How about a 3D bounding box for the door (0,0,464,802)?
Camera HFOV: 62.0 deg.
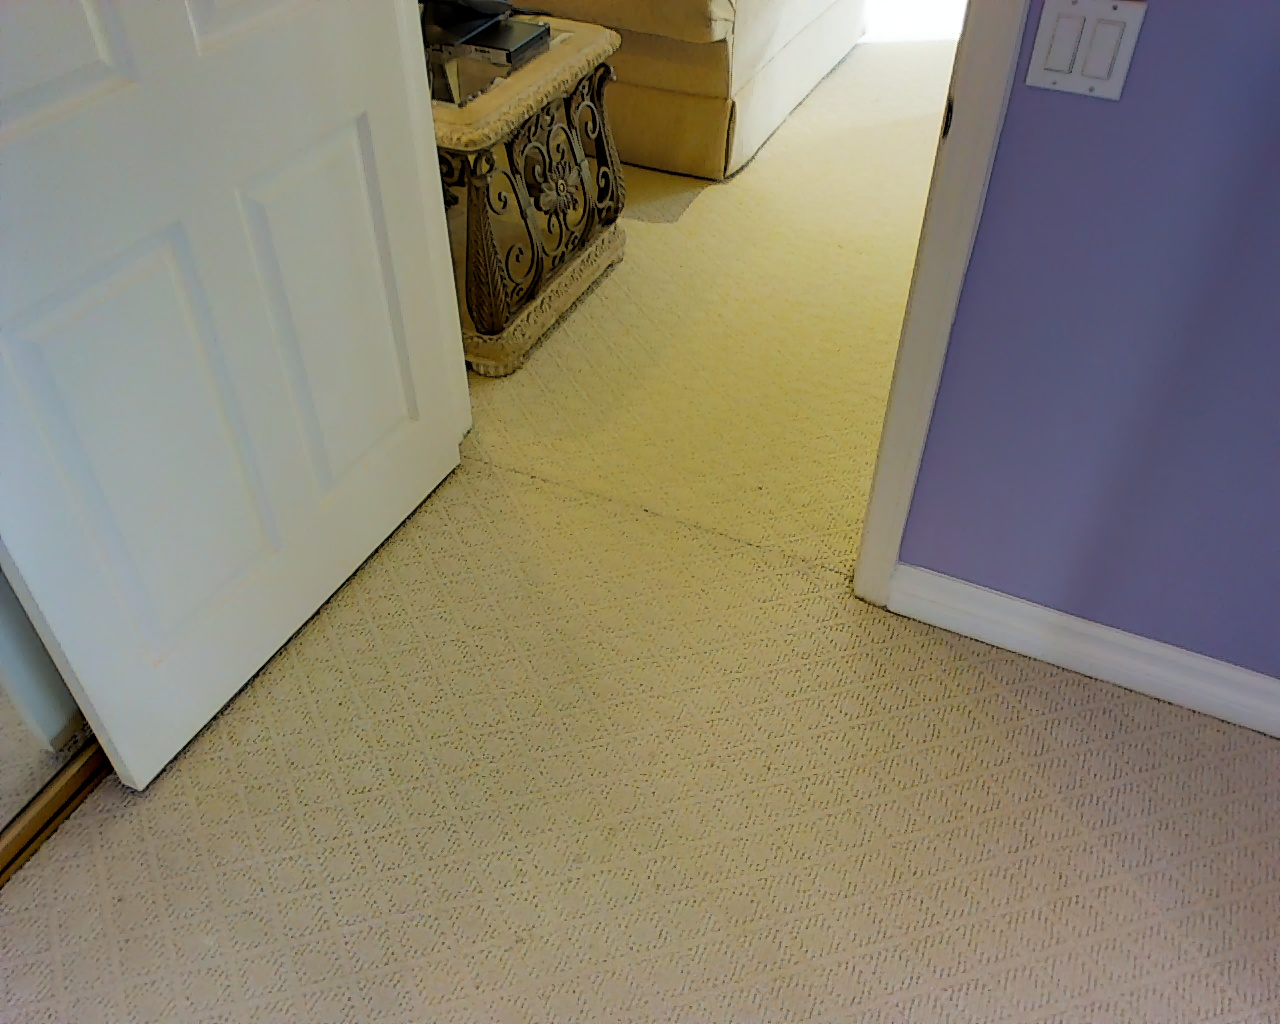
[{"bbox_3d":[-0.580,-0.560,1.280,0.060,1.990,0.860,18,45,19],"label":"door"}]
